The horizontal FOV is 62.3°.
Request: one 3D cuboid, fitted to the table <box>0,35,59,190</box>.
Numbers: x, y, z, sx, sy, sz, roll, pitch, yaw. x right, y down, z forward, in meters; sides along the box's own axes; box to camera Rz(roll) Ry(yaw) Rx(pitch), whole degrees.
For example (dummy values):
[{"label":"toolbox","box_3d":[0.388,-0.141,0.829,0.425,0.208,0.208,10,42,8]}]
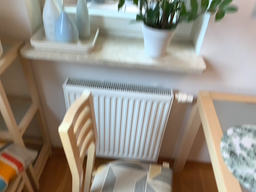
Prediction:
[{"label":"table","box_3d":[-0.710,0.150,1.260,0.370,0.940,0.330,5,39,-1]}]
